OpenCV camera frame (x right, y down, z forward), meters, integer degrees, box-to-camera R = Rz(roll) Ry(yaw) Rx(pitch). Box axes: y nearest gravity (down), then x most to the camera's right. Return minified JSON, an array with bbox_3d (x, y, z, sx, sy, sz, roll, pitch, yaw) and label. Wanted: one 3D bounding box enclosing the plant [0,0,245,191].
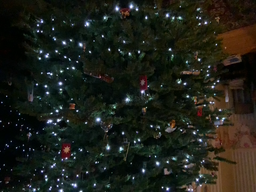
[{"bbox_3d":[-0.140,0.510,1.930,1.780,2.970,1.560,-9,165,39],"label":"plant"}]
